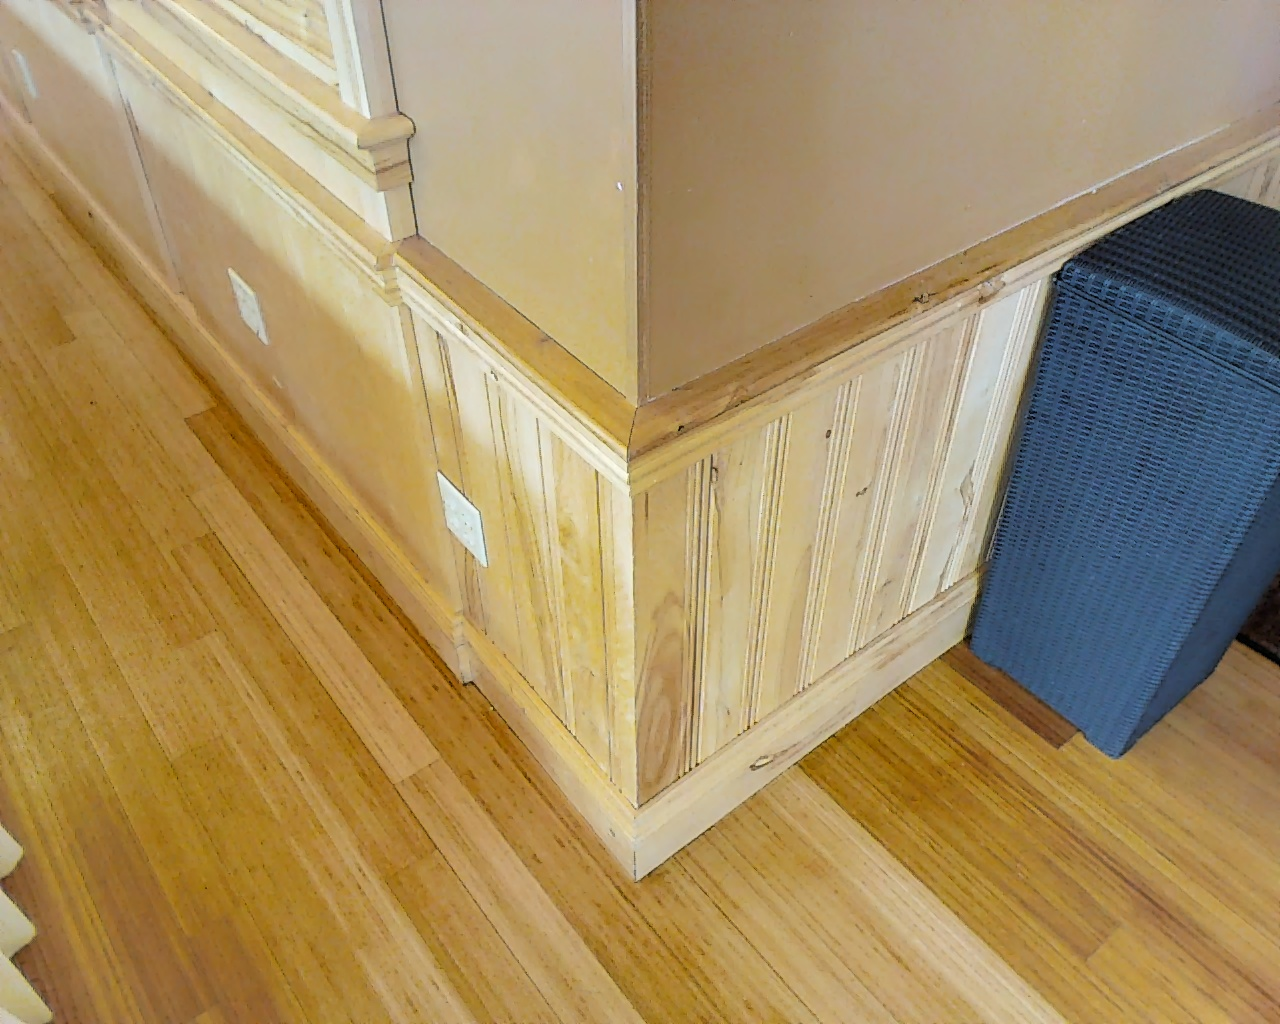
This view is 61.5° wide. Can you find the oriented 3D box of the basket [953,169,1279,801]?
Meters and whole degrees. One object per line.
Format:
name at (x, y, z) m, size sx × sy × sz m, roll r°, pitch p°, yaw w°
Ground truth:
basket at (0.880, -0.020, 1.740) m, size 0.400 × 0.860 × 0.410 m, roll -28°, pitch 49°, yaw -27°
